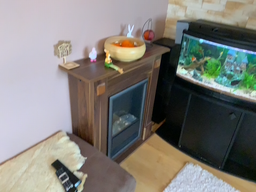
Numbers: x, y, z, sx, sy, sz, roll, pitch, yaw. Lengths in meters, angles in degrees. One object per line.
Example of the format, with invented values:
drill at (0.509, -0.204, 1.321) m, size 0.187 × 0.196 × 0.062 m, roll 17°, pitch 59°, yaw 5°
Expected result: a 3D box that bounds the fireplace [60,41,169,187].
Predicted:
fireplace at (-0.070, 0.100, 1.810) m, size 0.280 × 0.930 × 0.900 m, roll 25°, pitch 36°, yaw 31°
